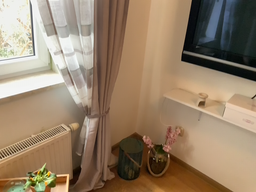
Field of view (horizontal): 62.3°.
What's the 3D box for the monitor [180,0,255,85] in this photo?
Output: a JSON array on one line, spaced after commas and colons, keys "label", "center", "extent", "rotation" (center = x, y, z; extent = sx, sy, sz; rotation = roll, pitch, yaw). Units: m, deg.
[{"label": "monitor", "center": [0.810, -0.380, 1.090], "extent": [1.020, 0.690, 0.100], "rotation": [26, 33, 35]}]
